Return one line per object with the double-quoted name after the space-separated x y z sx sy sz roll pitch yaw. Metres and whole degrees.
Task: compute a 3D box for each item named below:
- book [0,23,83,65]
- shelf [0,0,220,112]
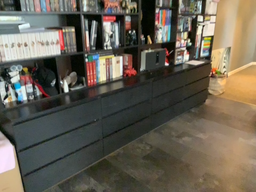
-0.810 -0.490 1.890 0.260 0.290 0.770 18 26 41 "book"
0.240 -1.240 2.750 0.320 1.830 3.870 18 26 41 "shelf"
